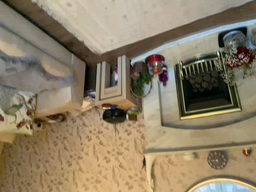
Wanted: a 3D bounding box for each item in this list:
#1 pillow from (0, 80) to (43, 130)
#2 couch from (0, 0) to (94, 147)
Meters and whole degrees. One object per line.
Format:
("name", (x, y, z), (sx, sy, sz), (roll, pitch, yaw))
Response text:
("pillow", (-1.060, 0.090, 1.940), (0.120, 0.320, 0.580), (-11, 155, 21))
("couch", (-1.110, -0.160, 1.800), (1.000, 0.880, 1.360), (-12, 155, 24))
